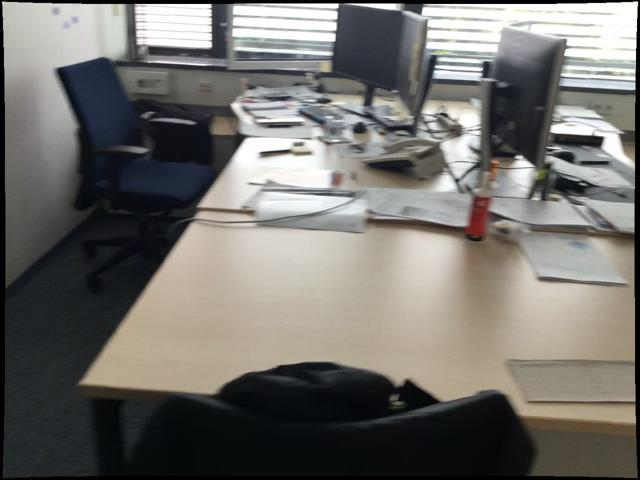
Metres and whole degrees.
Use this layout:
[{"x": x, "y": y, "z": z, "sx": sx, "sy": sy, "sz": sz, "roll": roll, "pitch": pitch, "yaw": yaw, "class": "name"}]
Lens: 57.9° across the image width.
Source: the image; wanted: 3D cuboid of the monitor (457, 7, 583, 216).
[{"x": 0.589, "y": -0.430, "z": 1.820, "sx": 0.150, "sy": 0.520, "sz": 0.560, "roll": 3, "pitch": 26, "yaw": 2, "class": "monitor"}]

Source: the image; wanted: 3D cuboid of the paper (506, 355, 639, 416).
[{"x": 0.460, "y": 0.250, "z": 1.000, "sx": 0.240, "sy": 0.010, "sz": 0.130, "roll": 3, "pitch": 26, "yaw": 2, "class": "paper"}]

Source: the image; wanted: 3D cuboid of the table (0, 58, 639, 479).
[{"x": 0.470, "y": -0.030, "z": 2.310, "sx": 1.968, "sy": 0.841, "sz": 2.921, "roll": 3, "pitch": 26, "yaw": 2, "class": "table"}]

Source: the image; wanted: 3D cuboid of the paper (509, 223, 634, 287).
[{"x": 0.619, "y": 0.030, "z": 1.460, "sx": 0.210, "sy": 0.020, "sz": 0.290, "roll": 3, "pitch": 26, "yaw": 2, "class": "paper"}]

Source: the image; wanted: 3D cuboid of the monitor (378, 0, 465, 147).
[{"x": 0.390, "y": -0.731, "z": 2.410, "sx": 0.230, "sy": 0.490, "sz": 0.700, "roll": 3, "pitch": 26, "yaw": 2, "class": "monitor"}]
